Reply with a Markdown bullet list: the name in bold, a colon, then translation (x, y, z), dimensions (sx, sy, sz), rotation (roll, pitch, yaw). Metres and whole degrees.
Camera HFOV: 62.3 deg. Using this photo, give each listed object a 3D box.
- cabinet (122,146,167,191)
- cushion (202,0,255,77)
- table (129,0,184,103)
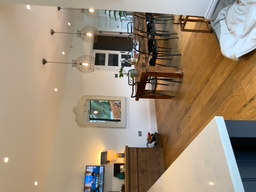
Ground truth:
- **cabinet**: translation (0.330, 1.780, 4.810), dimensions (0.480, 0.890, 1.140), rotation (101, 170, -55)
- **cushion**: translation (1.060, -0.810, 1.940), dimensions (0.990, 0.200, 0.800), rotation (100, 170, -54)
- **table**: translation (0.520, -1.440, 4.980), dimensions (1.020, 0.800, 3.090), rotation (101, 170, -57)
